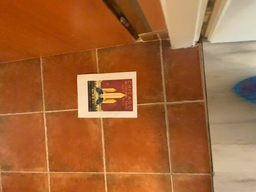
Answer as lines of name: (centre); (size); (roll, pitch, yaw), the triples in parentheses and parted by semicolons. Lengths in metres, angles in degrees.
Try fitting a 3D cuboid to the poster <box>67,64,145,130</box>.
poster: (-0.110, 0.010, 0.980); (0.360, 0.020, 0.280); (-4, 89, 14)
